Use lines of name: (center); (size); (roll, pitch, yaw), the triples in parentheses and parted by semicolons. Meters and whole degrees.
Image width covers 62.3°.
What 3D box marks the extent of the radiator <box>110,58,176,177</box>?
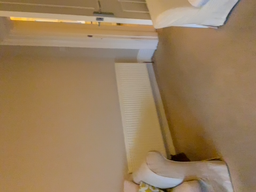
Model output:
radiator: (0.140, 0.160, 2.920); (0.110, 0.570, 1.750); (109, 155, -54)
